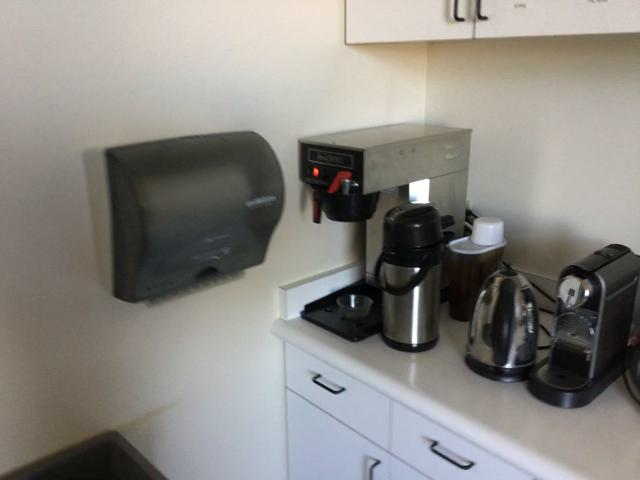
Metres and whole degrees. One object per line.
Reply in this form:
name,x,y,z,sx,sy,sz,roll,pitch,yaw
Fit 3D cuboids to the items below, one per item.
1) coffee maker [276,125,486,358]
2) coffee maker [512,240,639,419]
coffee maker,0.160,-0.030,1.520,0.470,0.490,0.260,-12,20,-35
coffee maker,0.560,0.170,1.210,0.310,0.270,0.130,-12,20,-35
